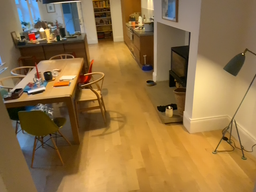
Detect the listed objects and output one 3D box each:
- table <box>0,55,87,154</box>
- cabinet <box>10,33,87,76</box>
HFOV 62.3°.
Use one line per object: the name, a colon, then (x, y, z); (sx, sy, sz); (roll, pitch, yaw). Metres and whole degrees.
table: (-1.260, -0.050, 3.610); (0.910, 0.730, 2.080); (-6, 26, -5)
cabinet: (-2.120, -1.180, 5.950); (1.800, 0.930, 0.590); (-7, 26, -6)
